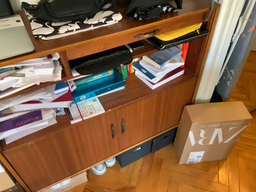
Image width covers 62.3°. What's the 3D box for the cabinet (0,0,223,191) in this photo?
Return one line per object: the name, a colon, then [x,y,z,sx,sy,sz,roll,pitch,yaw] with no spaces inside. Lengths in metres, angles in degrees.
cabinet: [-0.150,0.050,1.320,1.130,1.090,0.410,-19,46,-19]
